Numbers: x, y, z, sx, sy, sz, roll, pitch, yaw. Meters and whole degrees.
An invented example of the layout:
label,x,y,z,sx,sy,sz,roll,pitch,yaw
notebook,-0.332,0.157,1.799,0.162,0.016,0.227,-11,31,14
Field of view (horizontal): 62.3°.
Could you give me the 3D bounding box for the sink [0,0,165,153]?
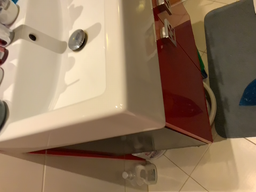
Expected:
label,x,y,z,sx,sy,sz,roll,pitch,yaw
sink,-0.170,-0.180,0.570,0.450,0.140,0.600,-15,66,30
